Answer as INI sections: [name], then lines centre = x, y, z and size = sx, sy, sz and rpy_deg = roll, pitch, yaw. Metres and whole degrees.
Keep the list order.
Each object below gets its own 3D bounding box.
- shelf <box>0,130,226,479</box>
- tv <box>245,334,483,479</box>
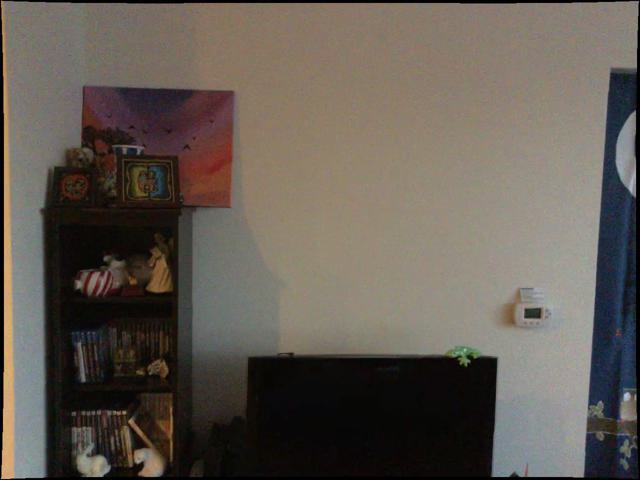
[shelf]
centre = -0.589, 0.551, 1.790
size = 0.529, 1.694, 0.390
rpy_deg = -4, 4, -7
[tv]
centre = 0.140, 0.561, 1.760
size = 0.698, 0.471, 0.080
rpy_deg = -4, 4, -7
